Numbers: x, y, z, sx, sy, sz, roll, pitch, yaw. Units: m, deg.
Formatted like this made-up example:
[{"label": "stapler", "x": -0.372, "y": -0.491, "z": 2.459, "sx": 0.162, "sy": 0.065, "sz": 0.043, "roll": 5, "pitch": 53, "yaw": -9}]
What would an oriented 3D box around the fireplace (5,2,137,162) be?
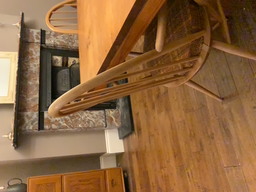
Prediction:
[{"label": "fireplace", "x": -0.710, "y": -0.150, "z": 2.610, "sx": 0.700, "sy": 1.220, "sz": 1.640, "roll": 133, "pitch": 133, "yaw": -57}]
